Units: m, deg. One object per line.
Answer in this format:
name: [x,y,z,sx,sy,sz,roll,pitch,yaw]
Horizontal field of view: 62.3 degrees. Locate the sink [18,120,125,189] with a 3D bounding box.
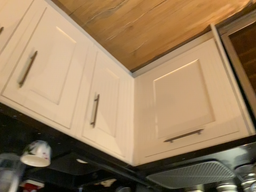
sink: [-0.340,0.390,1.310,0.510,0.190,0.380,-26,134,30]
